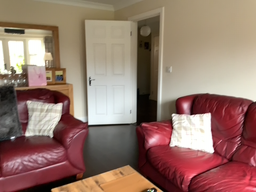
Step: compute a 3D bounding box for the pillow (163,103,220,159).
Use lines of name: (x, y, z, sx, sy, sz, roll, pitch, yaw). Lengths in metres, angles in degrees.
pillow: (0.670, 0.380, 2.300, 0.420, 0.420, 0.240, 28, -8, 16)

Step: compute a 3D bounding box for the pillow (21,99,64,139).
pillow: (-0.980, 0.260, 2.450, 0.360, 0.370, 0.190, 11, 4, 7)
